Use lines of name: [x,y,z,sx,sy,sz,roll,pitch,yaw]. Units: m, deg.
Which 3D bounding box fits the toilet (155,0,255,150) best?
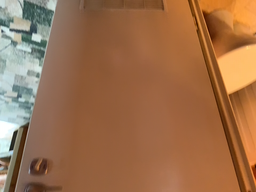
toilet: [0.550,-0.140,1.380,0.370,0.770,0.660,14,146,-25]
